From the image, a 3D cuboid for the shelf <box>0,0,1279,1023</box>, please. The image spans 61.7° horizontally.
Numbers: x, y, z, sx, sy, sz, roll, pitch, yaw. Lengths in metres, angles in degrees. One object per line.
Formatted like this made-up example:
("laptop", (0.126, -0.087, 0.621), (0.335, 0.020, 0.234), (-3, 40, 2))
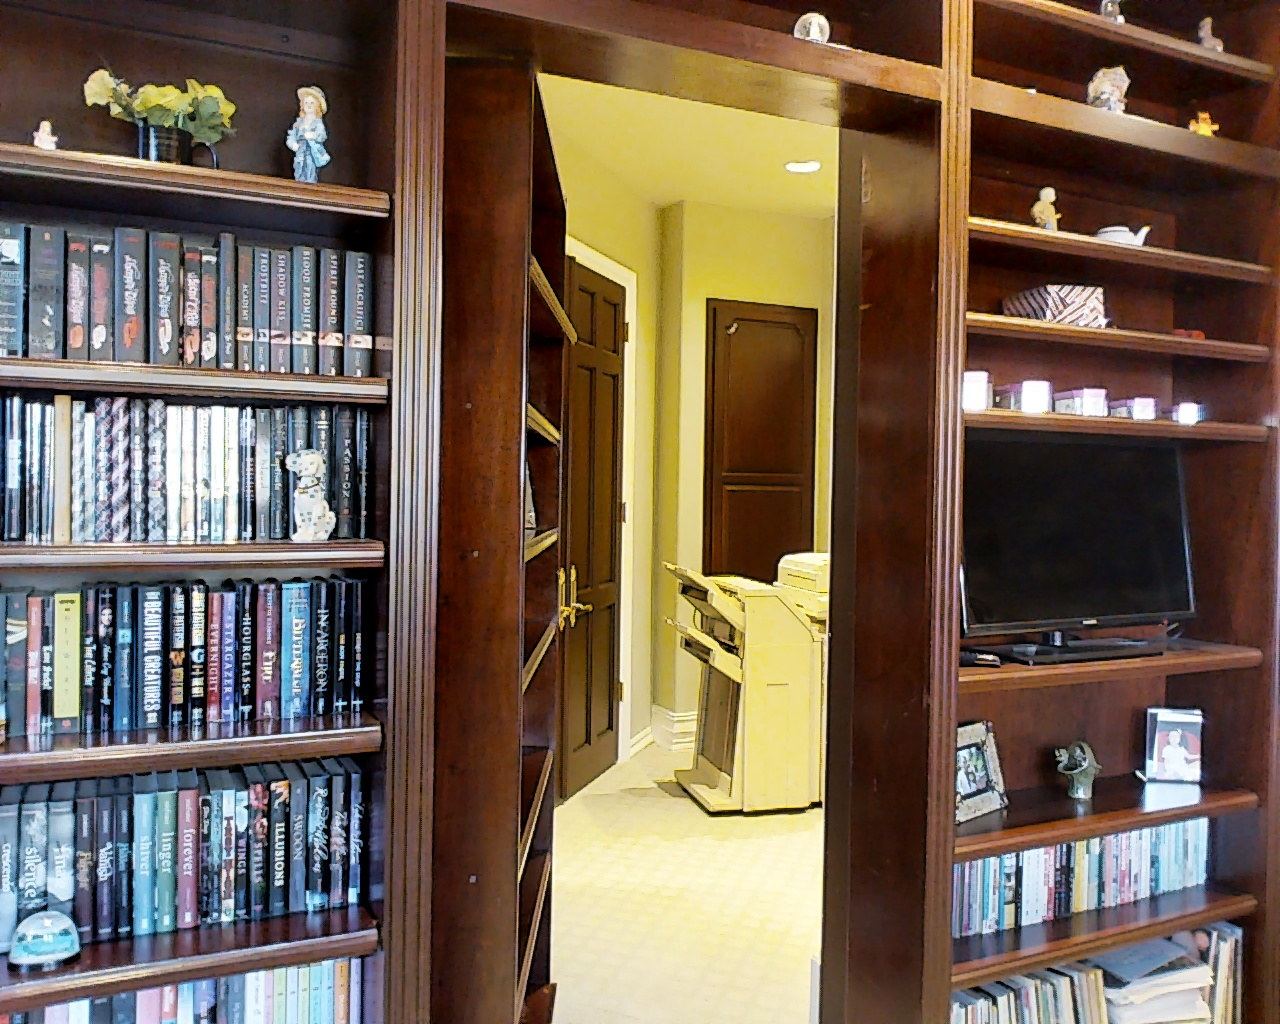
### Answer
("shelf", (1.770, 0.090, 1.500), (5.871, 2.650, 2.600), (1, 1, 19))
